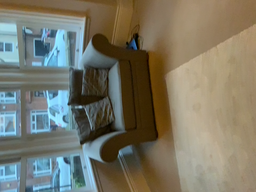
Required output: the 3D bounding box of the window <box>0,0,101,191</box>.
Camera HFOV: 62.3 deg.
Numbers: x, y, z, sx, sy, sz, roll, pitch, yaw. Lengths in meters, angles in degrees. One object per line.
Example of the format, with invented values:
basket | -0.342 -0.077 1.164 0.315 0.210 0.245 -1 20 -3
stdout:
window | -1.570 0.010 2.920 0.880 2.030 2.500 155 111 -65
